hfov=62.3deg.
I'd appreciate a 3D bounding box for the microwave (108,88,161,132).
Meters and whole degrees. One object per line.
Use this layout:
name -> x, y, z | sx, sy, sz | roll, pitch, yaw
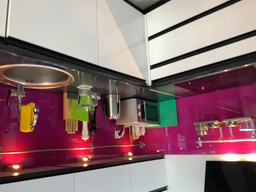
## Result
microwave -> 0.080, 0.180, 2.370 | 0.330, 0.410, 0.500 | -12, 165, 39
